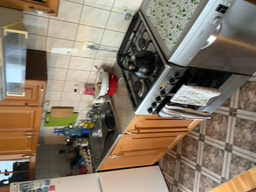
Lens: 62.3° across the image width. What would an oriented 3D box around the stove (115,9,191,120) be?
[{"bbox_3d":[0.130,-0.230,1.600,0.520,0.150,0.640,-58,40,44],"label":"stove"}]
